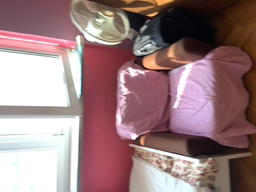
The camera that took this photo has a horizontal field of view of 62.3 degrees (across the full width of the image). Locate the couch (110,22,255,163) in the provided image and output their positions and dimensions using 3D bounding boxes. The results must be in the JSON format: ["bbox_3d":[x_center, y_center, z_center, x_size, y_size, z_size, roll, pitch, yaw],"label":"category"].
[{"bbox_3d":[0.340,0.020,1.550,0.840,0.650,0.690,-10,79,61],"label":"couch"}]
